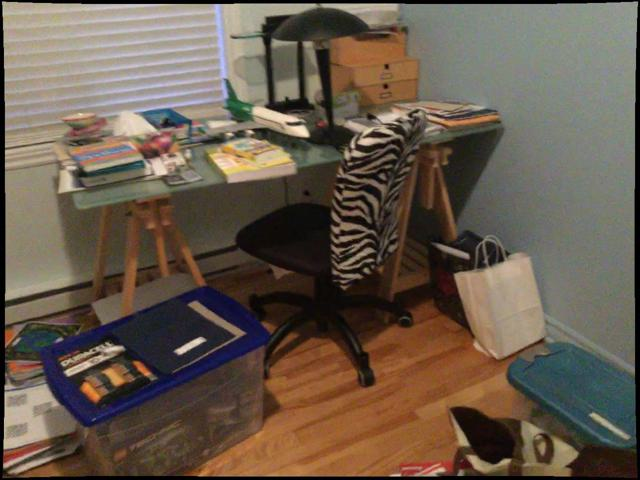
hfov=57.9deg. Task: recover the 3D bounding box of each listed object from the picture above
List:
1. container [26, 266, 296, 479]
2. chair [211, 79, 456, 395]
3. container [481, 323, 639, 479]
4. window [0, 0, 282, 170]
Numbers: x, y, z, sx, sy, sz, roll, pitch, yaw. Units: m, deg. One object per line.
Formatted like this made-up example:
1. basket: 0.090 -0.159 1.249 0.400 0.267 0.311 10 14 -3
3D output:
1. container: -0.460 0.420 1.730 0.600 0.360 0.460 -21 32 -31
2. chair: 0.050 -0.050 2.060 0.660 0.881 0.440 20 35 37
3. container: 0.729 0.501 1.580 0.310 0.270 0.460 -15 30 -23
4. window: -0.859 -1.071 1.970 1.389 1.531 0.190 -15 30 -23
